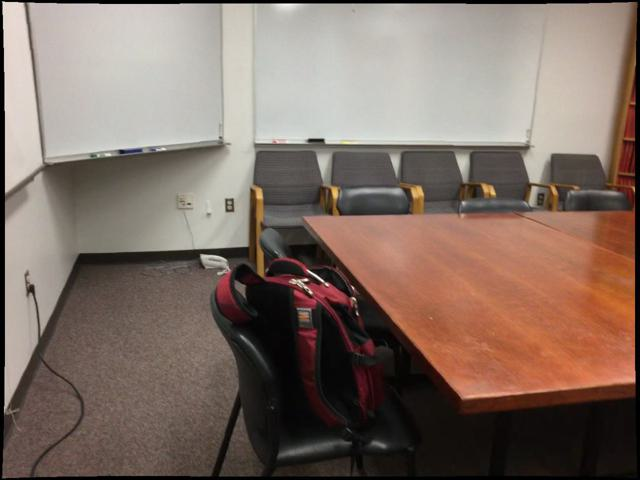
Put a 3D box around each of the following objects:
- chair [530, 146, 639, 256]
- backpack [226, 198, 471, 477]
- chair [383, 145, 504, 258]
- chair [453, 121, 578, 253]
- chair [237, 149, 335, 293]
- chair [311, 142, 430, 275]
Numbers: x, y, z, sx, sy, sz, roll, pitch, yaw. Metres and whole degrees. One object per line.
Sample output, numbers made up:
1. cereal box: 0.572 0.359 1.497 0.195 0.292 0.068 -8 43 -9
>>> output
1. chair: 2.314 -0.361 4.940 0.619 0.792 0.650 -4 17 -16
2. backpack: 0.070 0.251 1.590 0.380 0.601 0.270 33 20 18
3. chair: 0.958 -0.341 4.650 0.619 0.722 0.750 -4 18 -17
4. chair: 1.576 -0.471 4.770 0.599 0.932 0.730 -5 18 -16
5. chair: -0.279 -0.170 4.270 0.589 0.922 0.610 -2 17 -16
6. chair: 0.349 -0.261 4.380 0.648 0.862 0.630 -2 17 -17
